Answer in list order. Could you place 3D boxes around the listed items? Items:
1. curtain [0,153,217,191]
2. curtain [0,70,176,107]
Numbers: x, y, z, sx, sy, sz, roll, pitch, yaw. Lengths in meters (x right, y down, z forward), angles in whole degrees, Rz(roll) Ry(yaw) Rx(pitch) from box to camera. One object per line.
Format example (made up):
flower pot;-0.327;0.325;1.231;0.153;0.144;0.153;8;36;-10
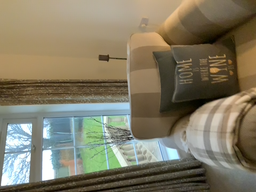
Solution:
curtain;-0.240;0.900;1.900;0.220;2.270;0.480;116;148;-52
curtain;-0.480;-0.090;2.510;0.140;2.200;0.380;117;147;-53
